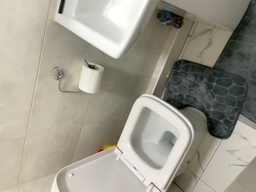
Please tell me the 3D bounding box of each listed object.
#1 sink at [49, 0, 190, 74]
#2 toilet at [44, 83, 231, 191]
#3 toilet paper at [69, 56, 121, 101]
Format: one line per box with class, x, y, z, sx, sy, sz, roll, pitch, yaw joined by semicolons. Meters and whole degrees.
sink;0.000;-0.410;0.590;0.410;0.150;0.570;36;116;34
toilet;0.080;0.300;1.120;0.410;0.800;0.610;34;115;35
toilet paper;-0.150;-0.080;0.970;0.110;0.170;0.160;36;116;34
